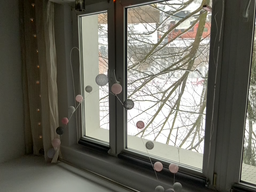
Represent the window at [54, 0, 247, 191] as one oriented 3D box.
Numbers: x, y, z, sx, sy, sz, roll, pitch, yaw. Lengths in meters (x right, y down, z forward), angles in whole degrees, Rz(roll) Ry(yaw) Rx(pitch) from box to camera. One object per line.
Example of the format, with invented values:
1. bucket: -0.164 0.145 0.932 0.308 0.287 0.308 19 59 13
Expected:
1. window: 0.050 -0.120 1.740 1.460 1.520 0.450 9 -167 37
